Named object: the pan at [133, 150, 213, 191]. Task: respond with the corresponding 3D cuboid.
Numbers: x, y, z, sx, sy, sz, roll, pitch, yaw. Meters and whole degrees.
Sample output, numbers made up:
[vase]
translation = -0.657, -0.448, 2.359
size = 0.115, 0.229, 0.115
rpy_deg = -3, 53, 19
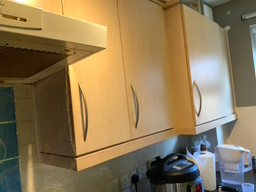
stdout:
[pan]
translation = 0.260, 0.490, 1.180
size = 0.290, 0.280, 0.330
rpy_deg = -8, -3, 41
